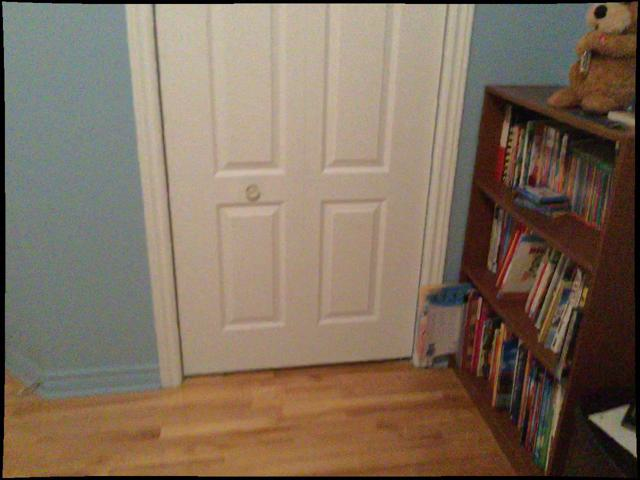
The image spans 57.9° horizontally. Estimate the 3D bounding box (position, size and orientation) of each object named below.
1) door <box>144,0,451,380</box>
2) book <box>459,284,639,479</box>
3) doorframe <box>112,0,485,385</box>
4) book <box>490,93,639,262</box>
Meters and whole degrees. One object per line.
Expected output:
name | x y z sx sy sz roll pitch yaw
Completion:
door | -0.060 -0.430 1.880 0.919 1.982 0.090 -3 24 -10
book | 0.689 0.420 1.860 0.230 0.310 0.580 -3 24 -10
doorframe | -0.050 -0.490 1.840 1.099 2.102 0.120 -3 24 -10
book | 0.779 -0.220 1.670 0.250 0.290 0.670 -3 24 -10
